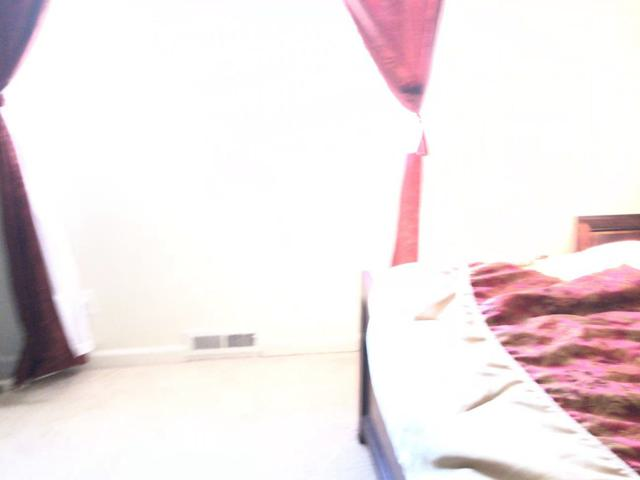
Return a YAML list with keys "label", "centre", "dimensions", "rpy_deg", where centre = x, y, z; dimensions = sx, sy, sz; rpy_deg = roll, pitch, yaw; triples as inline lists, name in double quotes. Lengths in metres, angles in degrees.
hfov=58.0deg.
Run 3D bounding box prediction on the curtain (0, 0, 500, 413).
- label: "curtain"
  centre: [-0.440, -0.440, 2.250]
  dimensions: [2.180, 2.190, 0.320]
  rpy_deg: [-5, 22, -5]
